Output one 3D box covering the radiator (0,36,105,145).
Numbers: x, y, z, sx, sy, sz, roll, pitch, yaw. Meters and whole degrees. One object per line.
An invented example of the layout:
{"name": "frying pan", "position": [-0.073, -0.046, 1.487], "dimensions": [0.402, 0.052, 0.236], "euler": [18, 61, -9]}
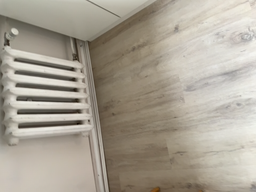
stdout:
{"name": "radiator", "position": [-0.550, -0.020, 1.510], "dimensions": [0.210, 0.710, 0.610], "euler": [-23, 74, 35]}
